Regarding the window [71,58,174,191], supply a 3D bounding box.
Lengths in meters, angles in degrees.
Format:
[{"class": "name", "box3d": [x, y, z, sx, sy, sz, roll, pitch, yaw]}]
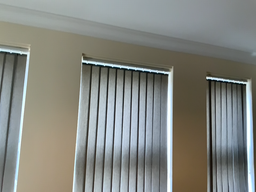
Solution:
[{"class": "window", "box3d": [-0.010, 0.460, 1.850, 0.900, 1.490, 0.030, 5, -8, -20]}]

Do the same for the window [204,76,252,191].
[{"class": "window", "box3d": [1.060, 0.600, 2.240, 0.580, 1.590, 0.040, 5, -7, -19]}]
